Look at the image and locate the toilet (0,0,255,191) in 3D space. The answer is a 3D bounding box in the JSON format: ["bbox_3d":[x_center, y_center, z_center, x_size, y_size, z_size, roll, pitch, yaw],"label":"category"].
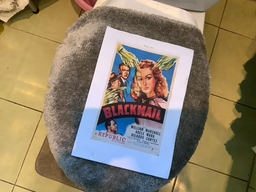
[{"bbox_3d":[0.040,-0.110,0.540,0.390,0.740,0.720,19,83,-1],"label":"toilet"}]
